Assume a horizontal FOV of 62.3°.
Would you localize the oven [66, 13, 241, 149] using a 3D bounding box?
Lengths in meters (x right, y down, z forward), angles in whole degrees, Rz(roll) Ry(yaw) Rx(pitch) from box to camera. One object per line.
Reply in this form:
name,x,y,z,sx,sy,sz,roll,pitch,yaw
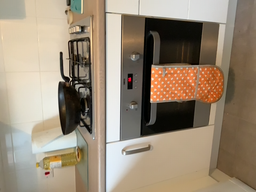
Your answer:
oven,0.130,-0.140,1.390,0.590,0.920,0.600,23,115,61
